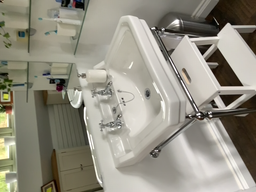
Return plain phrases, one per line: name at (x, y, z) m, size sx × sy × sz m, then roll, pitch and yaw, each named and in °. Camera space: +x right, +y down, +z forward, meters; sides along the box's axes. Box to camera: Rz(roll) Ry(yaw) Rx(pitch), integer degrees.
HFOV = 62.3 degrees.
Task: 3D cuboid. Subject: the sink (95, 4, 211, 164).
sink at (0.050, -0.050, 1.080) m, size 0.490 × 0.180 × 0.610 m, roll -55°, pitch 46°, yaw 47°
